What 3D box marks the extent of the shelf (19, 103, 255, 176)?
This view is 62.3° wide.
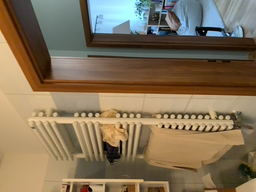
[{"bbox_3d":[0.070,0.370,1.550,0.790,1.360,0.200,95,176,-55],"label":"shelf"}]

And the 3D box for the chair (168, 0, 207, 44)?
[{"bbox_3d":[1.280,-1.800,4.760,0.850,0.510,0.870,95,176,-55],"label":"chair"}]
